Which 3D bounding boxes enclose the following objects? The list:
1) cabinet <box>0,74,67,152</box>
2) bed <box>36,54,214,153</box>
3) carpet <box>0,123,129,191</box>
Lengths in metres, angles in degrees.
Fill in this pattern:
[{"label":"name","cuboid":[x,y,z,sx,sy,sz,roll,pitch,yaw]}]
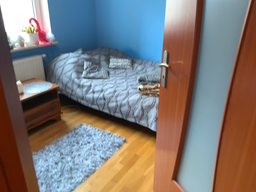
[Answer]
[{"label":"cabinet","cuboid":[-1.330,0.140,2.590,0.640,0.490,0.870,17,28,31]},{"label":"bed","cuboid":[-0.060,-0.120,3.230,2.230,0.480,1.400,17,28,31]},{"label":"carpet","cuboid":[-0.590,0.660,2.080,0.710,0.070,1.200,13,27,26]}]
